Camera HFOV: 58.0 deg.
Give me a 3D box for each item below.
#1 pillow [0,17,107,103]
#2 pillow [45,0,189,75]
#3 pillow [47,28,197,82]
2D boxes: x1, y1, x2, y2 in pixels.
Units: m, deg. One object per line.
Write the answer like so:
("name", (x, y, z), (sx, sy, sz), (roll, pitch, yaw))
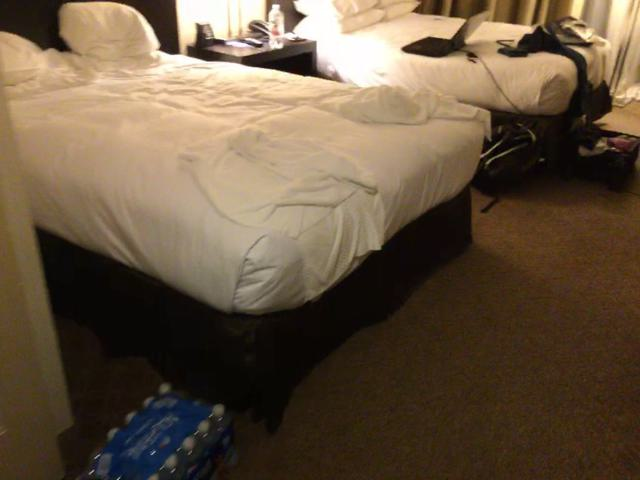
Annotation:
("pillow", (-1.330, -0.790, 2.510), (0.410, 0.240, 0.610), (21, 34, 32))
("pillow", (-1.030, -1.100, 3.010), (0.240, 0.330, 0.650), (21, 34, 32))
("pillow", (-1.010, -0.980, 3.020), (0.290, 0.140, 0.690), (21, 34, 32))
